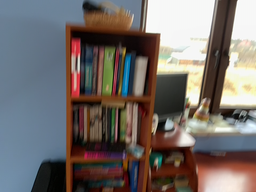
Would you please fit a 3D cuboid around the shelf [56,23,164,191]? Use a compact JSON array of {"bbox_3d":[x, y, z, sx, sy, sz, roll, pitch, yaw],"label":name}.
[{"bbox_3d":[-0.160,0.430,1.280,0.430,1.590,0.480,1,15,-11],"label":"shelf"}]
